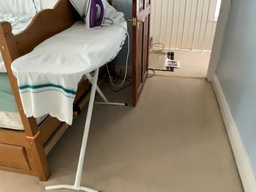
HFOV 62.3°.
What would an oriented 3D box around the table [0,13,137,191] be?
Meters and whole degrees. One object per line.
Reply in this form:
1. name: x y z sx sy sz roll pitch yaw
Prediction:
1. table: -0.230 -0.040 1.500 0.380 0.840 1.290 6 30 9
